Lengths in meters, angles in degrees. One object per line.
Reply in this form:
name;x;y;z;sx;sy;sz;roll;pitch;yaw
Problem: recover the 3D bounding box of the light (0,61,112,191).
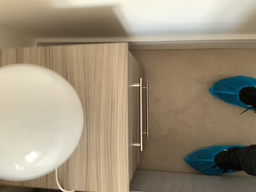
light;-0.190;0.080;0.470;0.260;0.200;0.280;1;90;10
